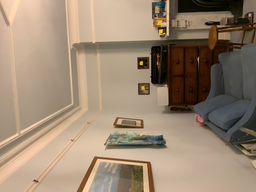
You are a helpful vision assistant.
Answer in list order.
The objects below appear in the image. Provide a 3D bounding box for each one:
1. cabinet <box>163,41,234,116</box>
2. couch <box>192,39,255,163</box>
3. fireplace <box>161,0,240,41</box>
[{"bbox_3d":[1.350,-0.340,4.230,0.640,1.190,1.370,-67,-25,-83],"label":"cabinet"},{"bbox_3d":[1.460,-0.040,2.760,1.560,0.840,1.190,-71,-20,-82],"label":"couch"},{"bbox_3d":[1.270,-2.110,3.900,0.700,1.250,2.020,-68,-23,-83],"label":"fireplace"}]
